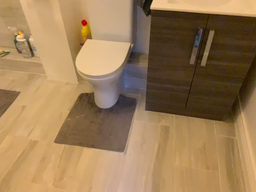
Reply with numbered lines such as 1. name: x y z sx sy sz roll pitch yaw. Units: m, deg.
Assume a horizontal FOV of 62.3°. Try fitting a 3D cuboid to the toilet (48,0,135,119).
1. toilet: -0.190 -0.320 1.620 0.390 0.760 0.590 7 45 9
